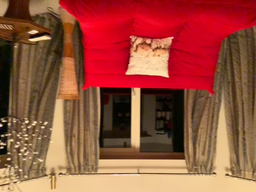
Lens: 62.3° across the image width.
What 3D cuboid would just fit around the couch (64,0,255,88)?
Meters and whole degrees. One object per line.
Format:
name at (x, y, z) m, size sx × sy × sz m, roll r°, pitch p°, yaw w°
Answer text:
couch at (0.330, -0.540, 2.090) m, size 1.610 × 0.830 × 1.050 m, roll 0°, pitch 177°, yaw -2°

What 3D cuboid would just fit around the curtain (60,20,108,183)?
curtain at (-0.530, 0.050, 2.660) m, size 0.530 × 1.940 × 0.240 m, roll 1°, pitch 177°, yaw -4°

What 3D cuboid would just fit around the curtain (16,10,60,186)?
curtain at (-1.050, 0.010, 2.540) m, size 0.410 × 1.960 × 0.270 m, roll 1°, pitch 177°, yaw -17°

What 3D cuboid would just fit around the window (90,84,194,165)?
window at (0.210, 0.400, 3.070) m, size 1.470 × 1.140 × 0.090 m, roll 0°, pitch 177°, yaw -2°
